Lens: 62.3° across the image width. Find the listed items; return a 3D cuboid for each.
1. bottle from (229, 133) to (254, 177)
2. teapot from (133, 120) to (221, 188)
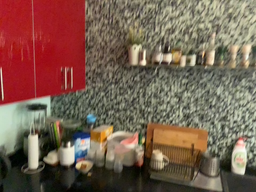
[{"bbox_3d":[0.790,0.410,1.480,0.110,0.270,0.080,5,9,16],"label":"bottle"},{"bbox_3d":[0.340,0.380,1.510,0.540,0.290,0.300,5,9,17],"label":"teapot"}]
